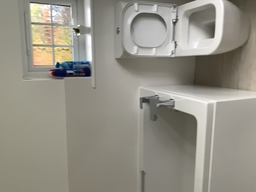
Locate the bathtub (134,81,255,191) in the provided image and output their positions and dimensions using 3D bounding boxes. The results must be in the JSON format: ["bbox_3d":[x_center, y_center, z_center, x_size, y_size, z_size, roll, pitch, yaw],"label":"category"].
[{"bbox_3d":[0.490,0.760,1.670,0.750,0.610,1.650,21,113,62],"label":"bathtub"}]
